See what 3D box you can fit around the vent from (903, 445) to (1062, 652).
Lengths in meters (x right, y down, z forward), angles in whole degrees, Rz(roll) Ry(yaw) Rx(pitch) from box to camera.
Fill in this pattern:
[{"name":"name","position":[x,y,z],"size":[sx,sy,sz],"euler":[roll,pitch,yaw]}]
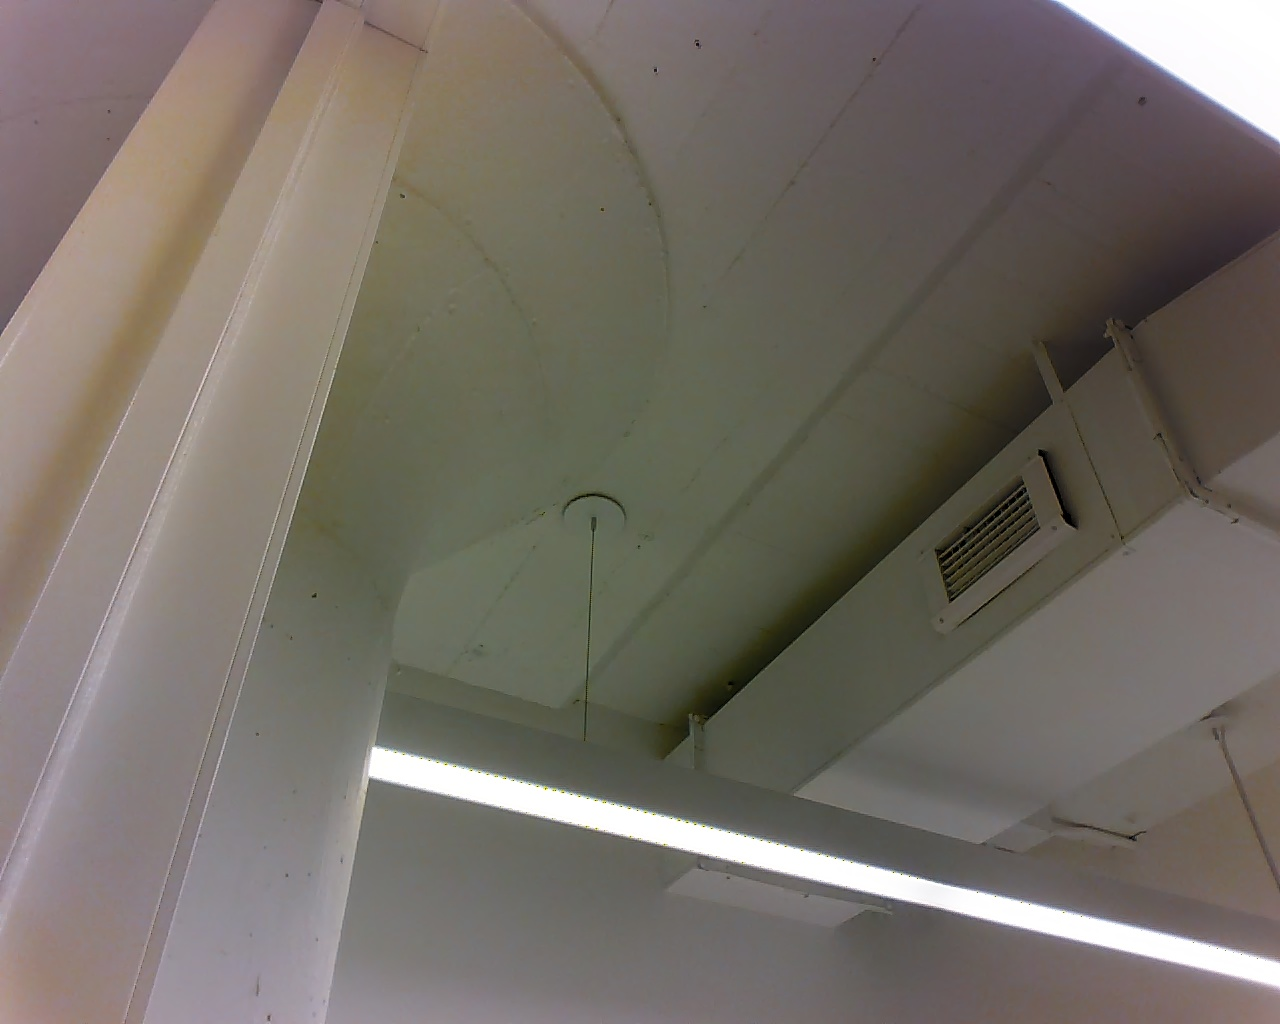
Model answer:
[{"name":"vent","position":[0.620,0.070,1.980],"size":[0.030,0.250,0.320],"euler":[20,-46,-20]}]
